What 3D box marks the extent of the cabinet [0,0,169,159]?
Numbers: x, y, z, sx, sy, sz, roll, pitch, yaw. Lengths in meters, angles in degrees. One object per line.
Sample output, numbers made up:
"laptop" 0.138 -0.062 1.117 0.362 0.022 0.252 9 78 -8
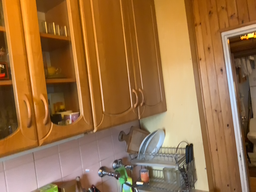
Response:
"cabinet" -0.270 -0.330 1.210 0.300 1.020 1.390 -7 0 37
